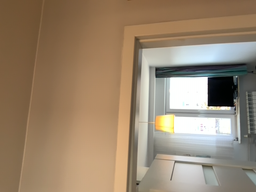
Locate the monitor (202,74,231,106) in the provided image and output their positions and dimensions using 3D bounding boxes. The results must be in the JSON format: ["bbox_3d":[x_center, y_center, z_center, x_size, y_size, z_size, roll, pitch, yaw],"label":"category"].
[{"bbox_3d":[1.820,-0.130,4.380,0.050,0.550,0.640,28,-116,-74],"label":"monitor"}]
